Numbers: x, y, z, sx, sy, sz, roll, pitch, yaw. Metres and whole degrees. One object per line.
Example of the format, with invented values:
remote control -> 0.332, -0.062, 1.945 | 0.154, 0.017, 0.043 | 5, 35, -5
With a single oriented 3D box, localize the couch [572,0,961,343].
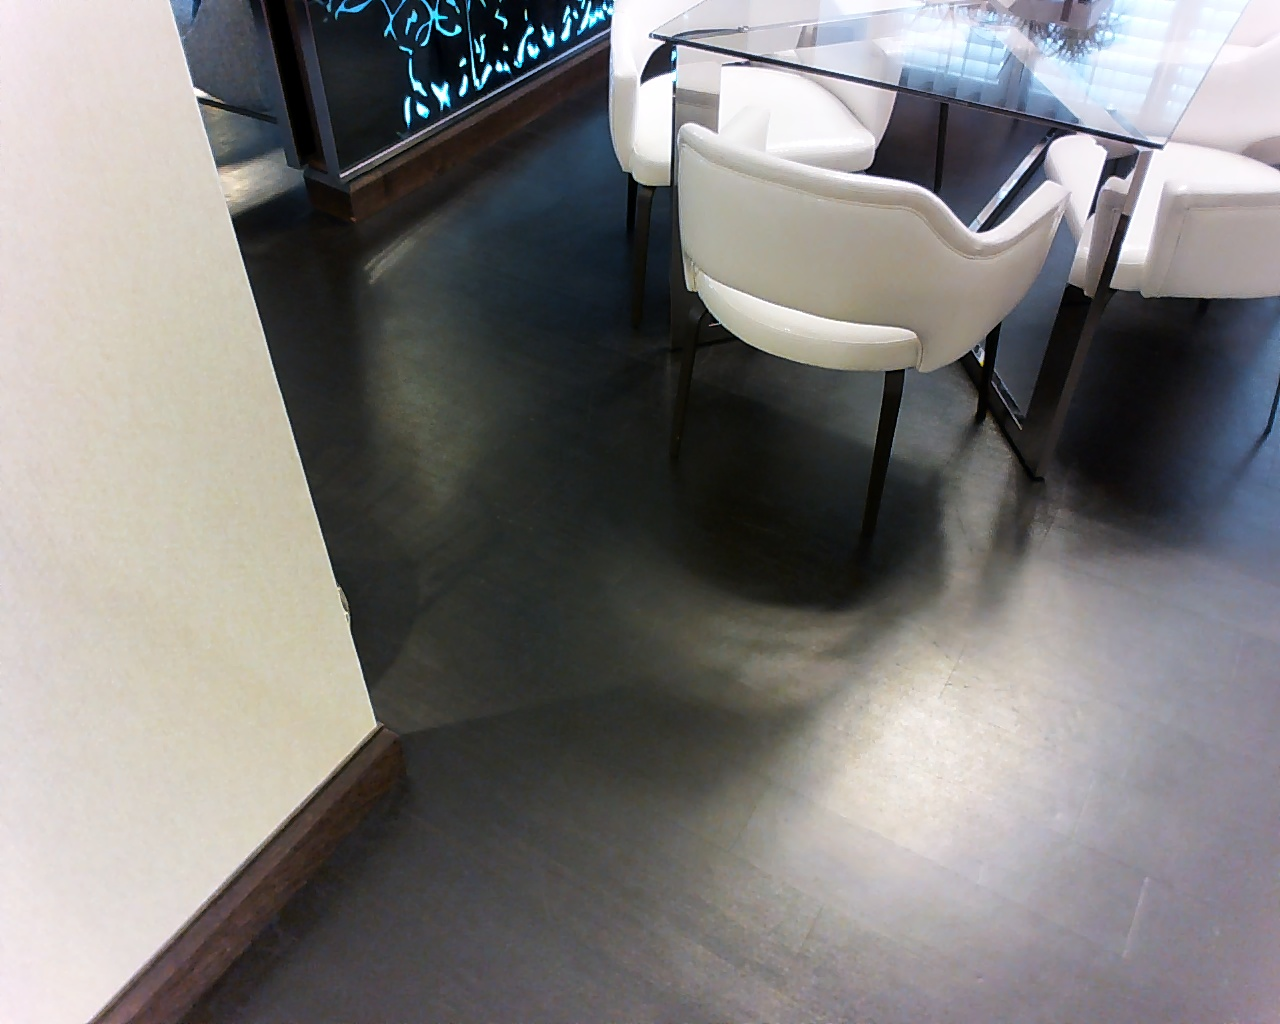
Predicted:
couch -> 0.260, -1.000, 2.780 | 0.750, 0.780, 0.690 | -8, 44, -8

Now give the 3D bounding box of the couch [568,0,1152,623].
couch -> 0.410, -0.440, 2.170 | 0.780, 0.810, 0.740 | 24, 48, 24

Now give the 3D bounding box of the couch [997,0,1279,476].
couch -> 1.280, -0.650, 2.400 | 0.670, 0.820, 0.760 | 4, 43, 5
